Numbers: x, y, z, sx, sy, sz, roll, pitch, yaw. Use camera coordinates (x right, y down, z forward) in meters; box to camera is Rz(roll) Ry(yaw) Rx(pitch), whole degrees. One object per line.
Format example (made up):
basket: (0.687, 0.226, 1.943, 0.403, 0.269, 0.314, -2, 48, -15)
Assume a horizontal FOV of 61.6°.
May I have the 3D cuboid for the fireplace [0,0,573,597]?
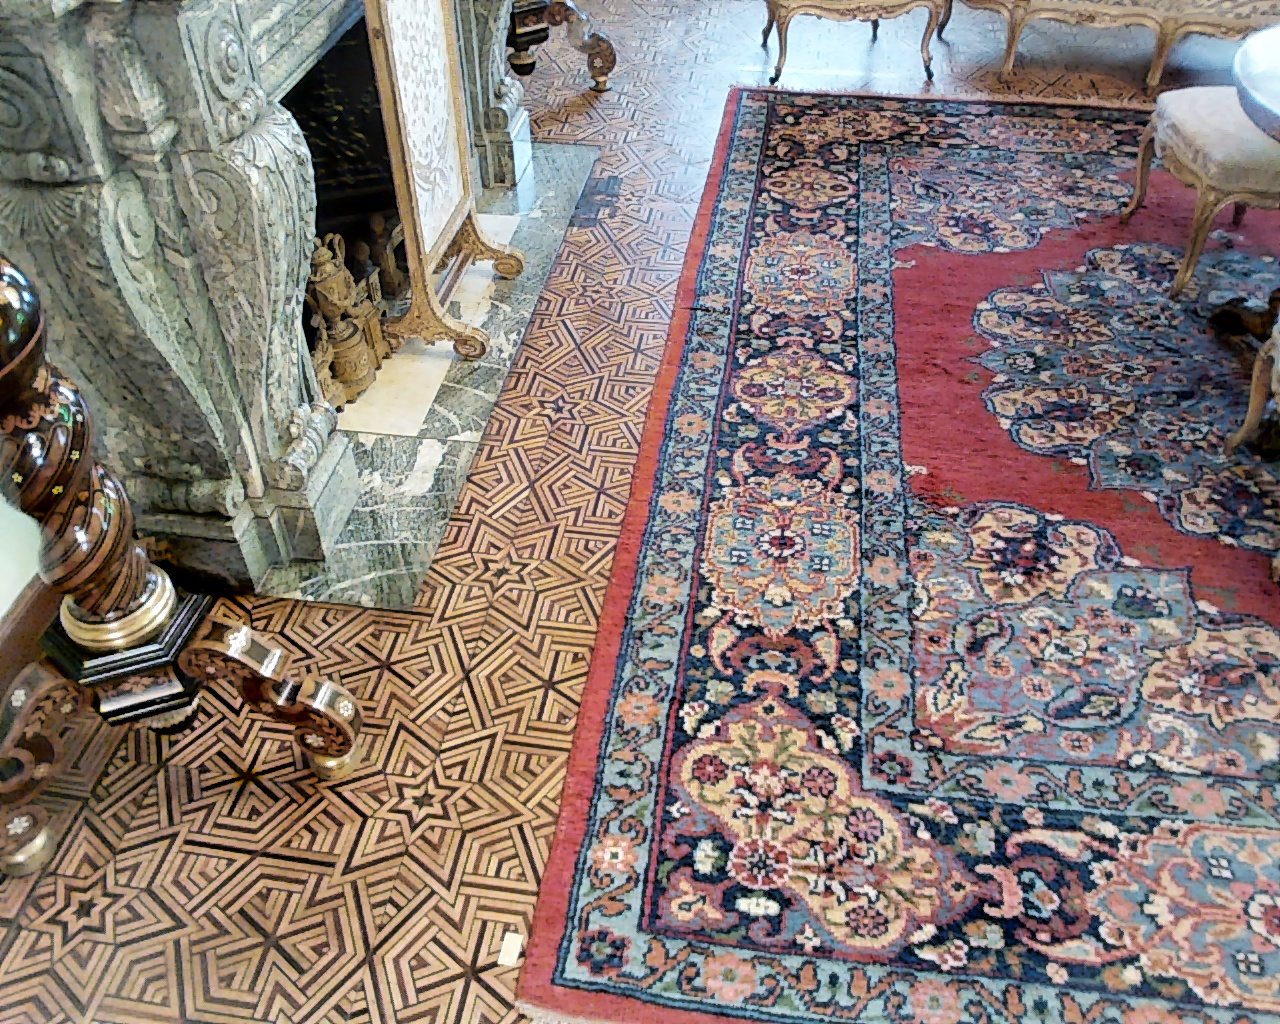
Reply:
fireplace: (-0.740, -1.120, 2.810, 0.590, 1.320, 2.360, 6, 43, 7)
